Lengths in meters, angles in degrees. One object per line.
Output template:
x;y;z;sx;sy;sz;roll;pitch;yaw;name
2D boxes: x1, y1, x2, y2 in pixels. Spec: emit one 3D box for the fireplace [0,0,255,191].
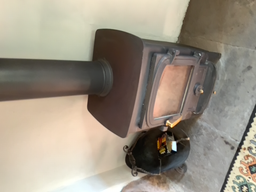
-0.100;-0.070;0.810;0.650;1.580;1.820;31;117;42;fireplace
